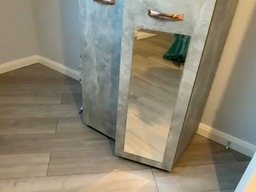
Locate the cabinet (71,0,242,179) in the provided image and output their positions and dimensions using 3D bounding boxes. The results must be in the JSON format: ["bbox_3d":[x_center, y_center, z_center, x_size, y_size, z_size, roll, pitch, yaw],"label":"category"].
[{"bbox_3d":[0.160,-0.540,1.220,0.800,1.900,0.560,24,35,27],"label":"cabinet"}]
